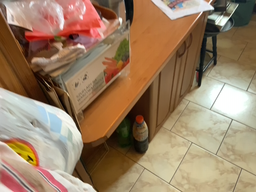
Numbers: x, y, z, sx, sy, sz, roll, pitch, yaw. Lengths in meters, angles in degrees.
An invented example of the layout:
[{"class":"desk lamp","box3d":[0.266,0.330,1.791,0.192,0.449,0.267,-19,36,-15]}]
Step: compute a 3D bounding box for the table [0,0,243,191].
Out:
[{"class":"table","box3d":[0.180,-0.180,1.240,0.400,0.770,1.420,28,57,25]}]
